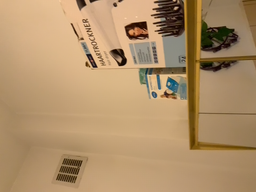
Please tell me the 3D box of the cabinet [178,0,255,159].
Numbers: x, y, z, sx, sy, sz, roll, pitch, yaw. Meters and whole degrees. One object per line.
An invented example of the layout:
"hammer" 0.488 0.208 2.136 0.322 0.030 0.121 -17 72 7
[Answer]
"cabinet" 0.370 -0.040 0.570 0.680 0.420 0.160 69 -152 -50
